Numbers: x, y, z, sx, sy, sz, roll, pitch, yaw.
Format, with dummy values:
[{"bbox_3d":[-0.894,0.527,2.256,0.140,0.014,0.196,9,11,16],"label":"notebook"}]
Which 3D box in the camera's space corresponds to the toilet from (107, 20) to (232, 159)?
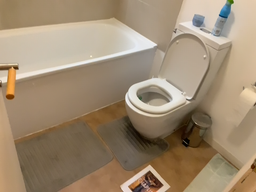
[{"bbox_3d":[0.270,-0.060,1.630,0.670,0.870,0.370,-21,49,-36],"label":"toilet"}]
